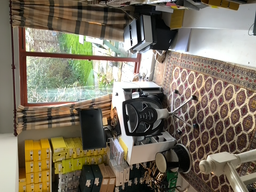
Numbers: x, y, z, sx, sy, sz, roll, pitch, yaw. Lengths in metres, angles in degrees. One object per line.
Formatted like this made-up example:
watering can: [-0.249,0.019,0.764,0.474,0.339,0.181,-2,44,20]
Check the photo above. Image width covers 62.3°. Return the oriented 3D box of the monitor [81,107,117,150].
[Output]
monitor: [-0.480,0.510,3.460,0.040,0.500,0.650,-44,53,56]

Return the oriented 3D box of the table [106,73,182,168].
table: [0.190,0.400,3.480,0.760,0.720,1.340,-40,56,57]
